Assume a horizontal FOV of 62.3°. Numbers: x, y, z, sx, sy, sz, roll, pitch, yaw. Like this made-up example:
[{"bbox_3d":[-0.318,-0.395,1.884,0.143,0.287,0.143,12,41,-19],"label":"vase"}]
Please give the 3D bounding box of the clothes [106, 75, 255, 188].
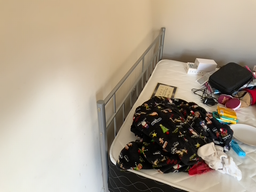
[{"bbox_3d":[0.210,0.110,1.140,0.570,0.130,0.670,-5,32,-12],"label":"clothes"}]
